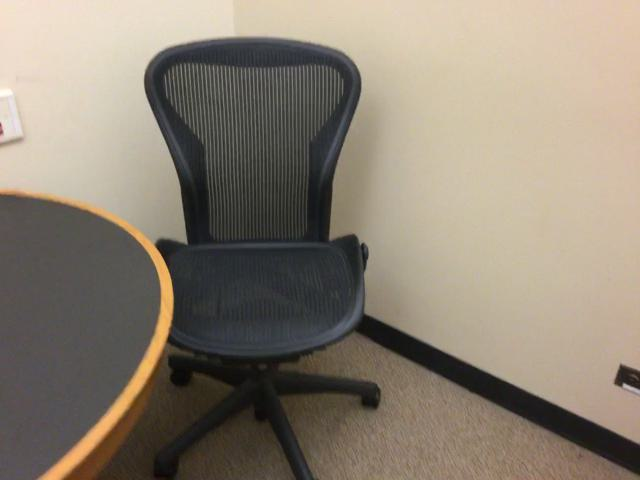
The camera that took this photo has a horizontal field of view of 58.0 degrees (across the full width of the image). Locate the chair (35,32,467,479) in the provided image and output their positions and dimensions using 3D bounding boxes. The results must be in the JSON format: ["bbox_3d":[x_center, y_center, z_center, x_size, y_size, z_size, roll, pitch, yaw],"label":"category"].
[{"bbox_3d":[-0.160,0.060,1.510,0.710,1.040,0.710,-3,28,-8],"label":"chair"}]
